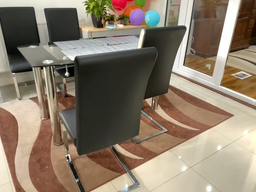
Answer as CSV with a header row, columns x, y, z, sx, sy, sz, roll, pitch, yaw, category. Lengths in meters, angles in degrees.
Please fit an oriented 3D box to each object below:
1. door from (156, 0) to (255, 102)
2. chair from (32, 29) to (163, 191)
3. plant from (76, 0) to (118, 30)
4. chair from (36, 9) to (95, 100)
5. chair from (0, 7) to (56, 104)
x,y,z,sx,sy,sz,roll,pitch,yaw,category
1.250,-1.110,2.430,0.130,2.110,2.400,-16,32,-31,door
-0.210,0.140,1.350,0.480,0.970,0.590,-15,32,-30,chair
-0.410,-1.150,2.730,0.350,0.470,0.500,-15,32,-30,plant
-0.760,-0.540,2.640,0.440,0.950,0.600,-15,32,-30,chair
-1.270,-0.520,2.550,0.500,0.960,0.620,-15,32,-30,chair
